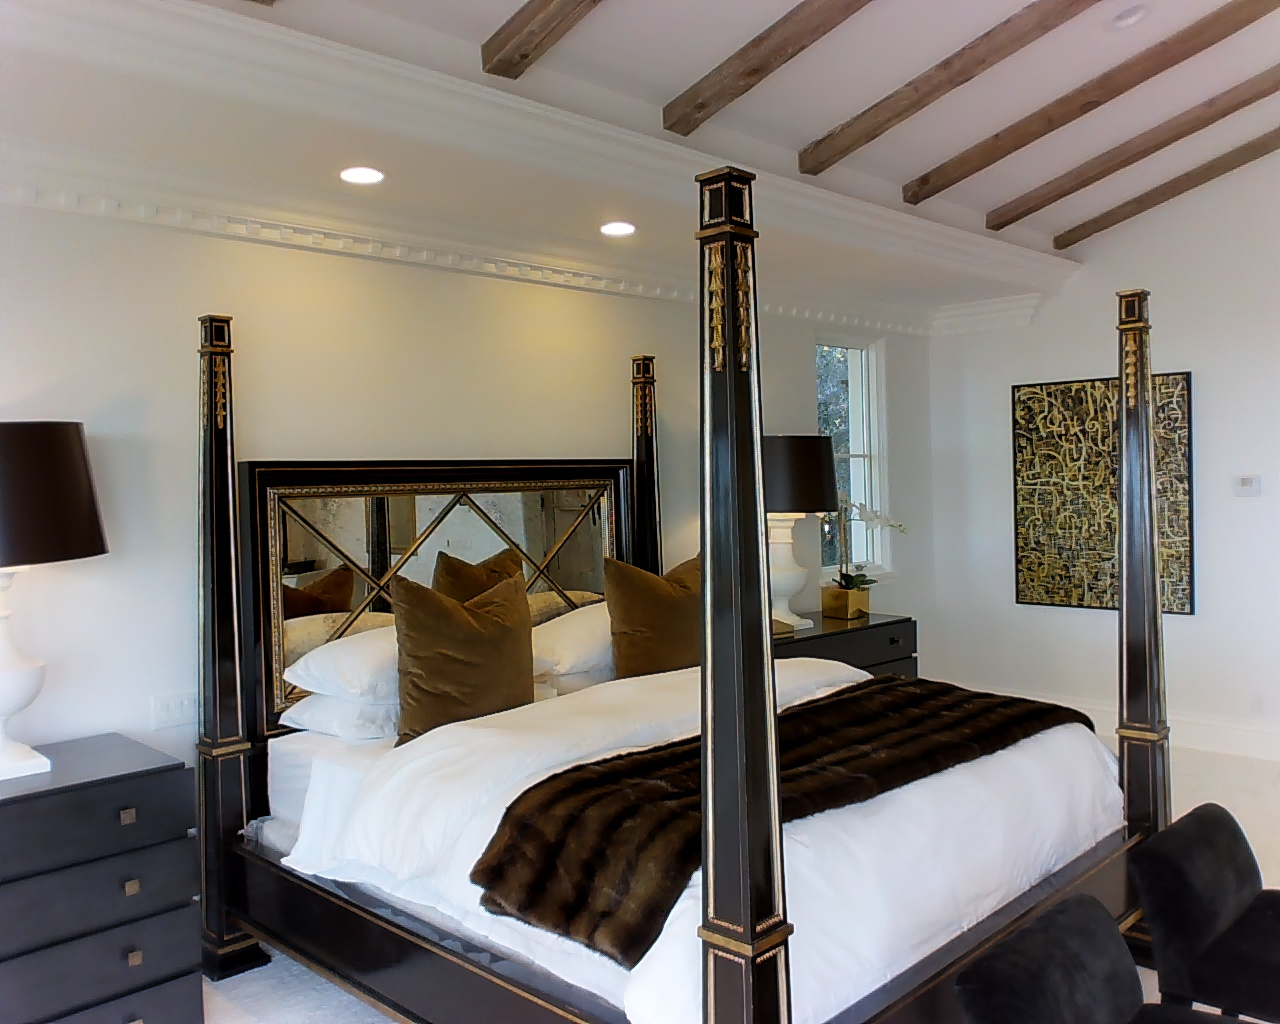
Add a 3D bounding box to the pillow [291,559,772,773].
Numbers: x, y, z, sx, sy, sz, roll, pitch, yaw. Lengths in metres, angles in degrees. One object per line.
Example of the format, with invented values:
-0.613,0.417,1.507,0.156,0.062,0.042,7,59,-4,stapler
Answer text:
-0.330,0.500,4.090,1.760,0.520,0.700,-2,2,-45,pillow
